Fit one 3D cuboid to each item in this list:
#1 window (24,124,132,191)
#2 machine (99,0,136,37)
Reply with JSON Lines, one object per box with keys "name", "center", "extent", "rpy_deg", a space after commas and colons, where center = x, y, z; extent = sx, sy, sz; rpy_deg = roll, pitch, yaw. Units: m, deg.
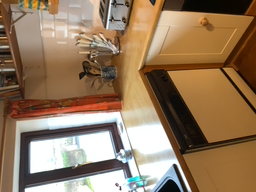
{"name": "window", "center": [-0.410, 0.610, 1.730], "extent": [0.070, 0.780, 0.730], "rpy_deg": [109, 150, -49]}
{"name": "machine", "center": [-0.090, -0.630, 1.600], "extent": [0.260, 0.180, 0.250], "rpy_deg": [110, 148, -51]}
